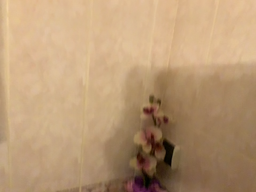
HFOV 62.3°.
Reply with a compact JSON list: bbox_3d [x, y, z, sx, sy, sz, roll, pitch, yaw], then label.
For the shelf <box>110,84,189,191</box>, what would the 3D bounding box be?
[{"bbox_3d":[0.050,0.330,0.730,0.170,0.710,0.170,12,15,19],"label":"shelf"}]
